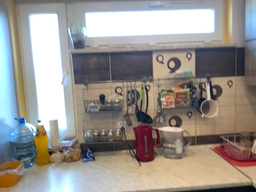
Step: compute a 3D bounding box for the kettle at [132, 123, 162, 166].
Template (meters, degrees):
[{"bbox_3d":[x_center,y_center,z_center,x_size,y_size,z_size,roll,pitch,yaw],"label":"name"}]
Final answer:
[{"bbox_3d":[0.150,0.390,1.740,0.210,0.280,0.210,-3,7,-4],"label":"kettle"}]
